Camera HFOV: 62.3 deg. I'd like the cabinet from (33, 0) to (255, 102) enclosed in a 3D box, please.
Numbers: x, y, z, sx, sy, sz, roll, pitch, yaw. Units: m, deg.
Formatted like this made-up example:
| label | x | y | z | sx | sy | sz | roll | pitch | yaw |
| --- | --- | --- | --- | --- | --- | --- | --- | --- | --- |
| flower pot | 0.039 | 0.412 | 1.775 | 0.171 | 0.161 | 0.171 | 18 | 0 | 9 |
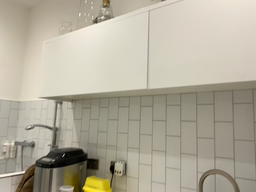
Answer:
| label | x | y | z | sx | sy | sz | roll | pitch | yaw |
| --- | --- | --- | --- | --- | --- | --- | --- | --- | --- |
| cabinet | 0.180 | -0.260 | 1.320 | 2.050 | 0.500 | 0.350 | -3 | -9 | 35 |
